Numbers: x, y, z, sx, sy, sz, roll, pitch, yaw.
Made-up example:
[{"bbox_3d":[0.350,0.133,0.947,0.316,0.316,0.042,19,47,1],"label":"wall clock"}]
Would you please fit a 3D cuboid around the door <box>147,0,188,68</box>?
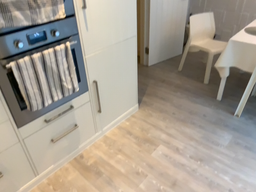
[{"bbox_3d":[0.590,-1.410,3.010,0.760,1.980,0.040,-24,40,-28],"label":"door"}]
